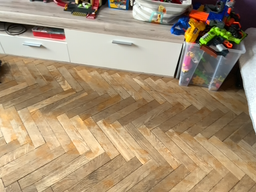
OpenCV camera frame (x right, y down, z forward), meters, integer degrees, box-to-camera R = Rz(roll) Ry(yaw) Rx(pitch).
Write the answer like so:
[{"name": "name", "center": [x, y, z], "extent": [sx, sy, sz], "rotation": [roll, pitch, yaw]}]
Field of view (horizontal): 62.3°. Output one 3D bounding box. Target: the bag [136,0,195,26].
[{"name": "bag", "center": [0.280, -0.720, 1.600], "extent": [0.380, 0.150, 0.390], "rotation": [8, 47, 3]}]

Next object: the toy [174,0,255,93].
[{"name": "toy", "center": [0.630, -0.440, 1.700], "extent": [0.370, 0.550, 0.550], "rotation": [11, 47, 5]}]
